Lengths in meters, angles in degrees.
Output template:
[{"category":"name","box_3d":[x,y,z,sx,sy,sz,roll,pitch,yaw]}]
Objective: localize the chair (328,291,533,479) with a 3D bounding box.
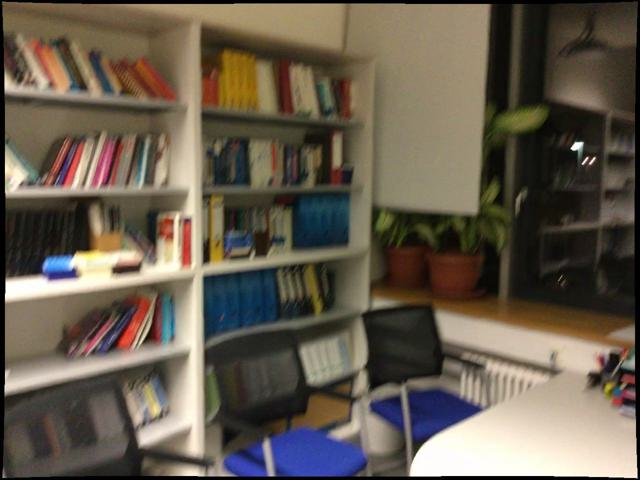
[{"category":"chair","box_3d":[0.519,0.791,2.900,0.719,0.881,0.670,-4,10,-26]}]

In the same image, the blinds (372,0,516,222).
[{"category":"blinds","box_3d":[0.669,-0.841,3.240,0.300,1.401,0.710,-7,12,-42]}]
